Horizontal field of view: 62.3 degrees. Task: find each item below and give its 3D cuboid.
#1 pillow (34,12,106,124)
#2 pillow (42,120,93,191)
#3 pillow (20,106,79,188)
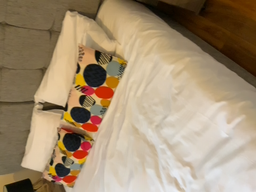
[{"bbox_3d":[-0.350,-0.170,1.280,0.140,0.330,0.610,27,118,8],"label":"pillow"},{"bbox_3d":[-0.460,0.480,1.580,0.140,0.220,0.590,33,119,18],"label":"pillow"},{"bbox_3d":[-0.600,0.390,1.610,0.080,0.320,0.640,36,120,17],"label":"pillow"}]
